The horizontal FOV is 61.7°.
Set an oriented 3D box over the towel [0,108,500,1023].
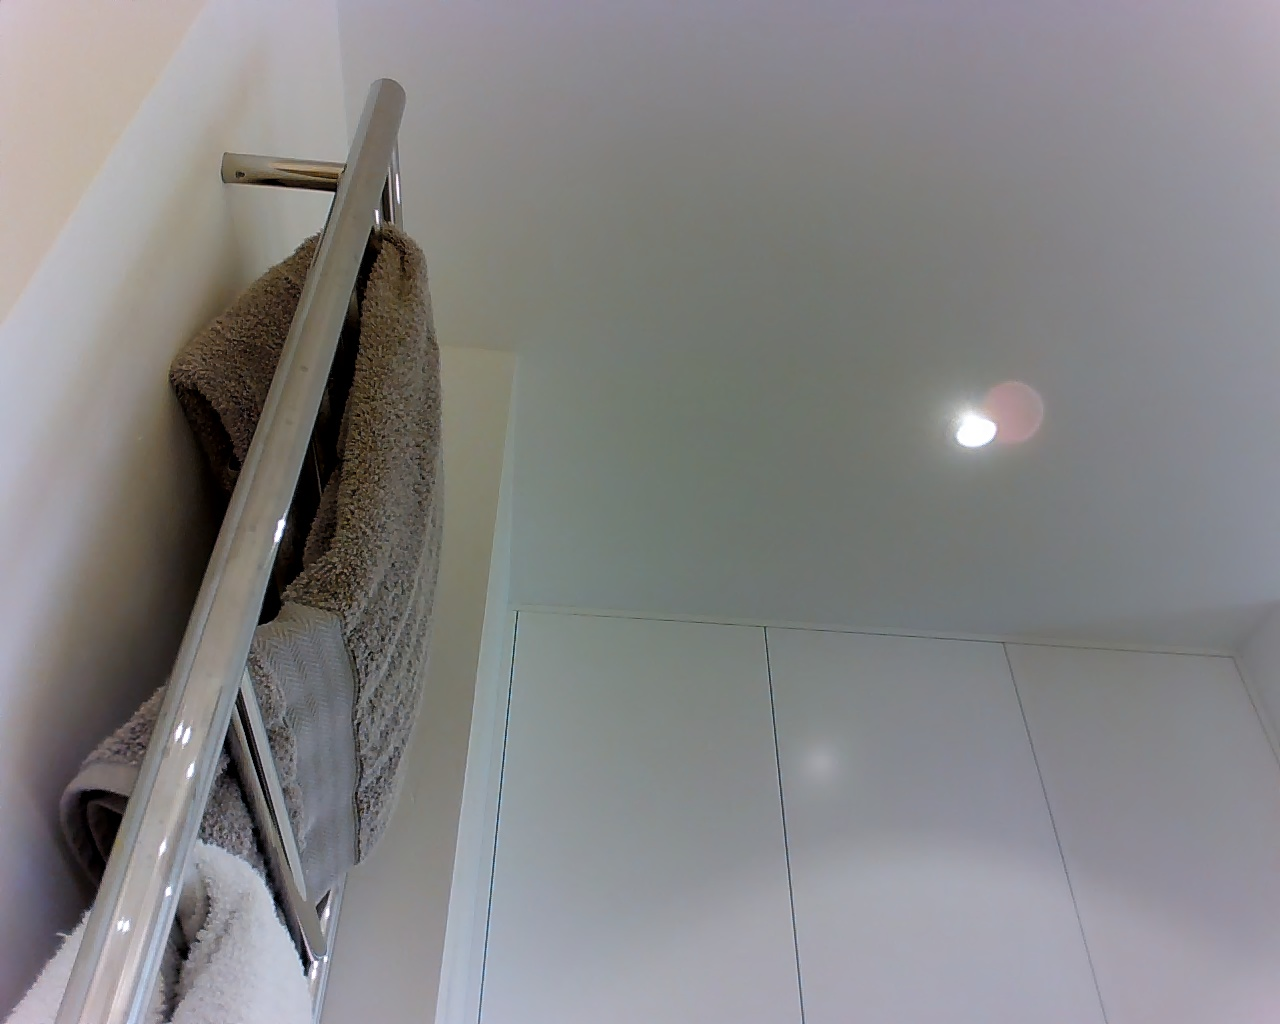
[{"bbox_3d":[-0.240,0.040,0.870,0.180,0.680,0.410,5,-43,-4],"label":"towel"}]
